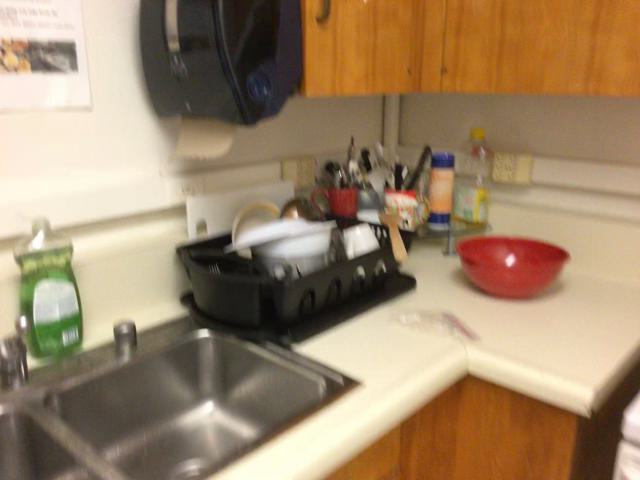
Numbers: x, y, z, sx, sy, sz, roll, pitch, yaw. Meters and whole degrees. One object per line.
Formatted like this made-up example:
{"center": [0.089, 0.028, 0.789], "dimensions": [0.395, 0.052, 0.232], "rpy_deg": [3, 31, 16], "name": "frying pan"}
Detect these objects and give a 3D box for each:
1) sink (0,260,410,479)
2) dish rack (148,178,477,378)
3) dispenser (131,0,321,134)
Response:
{"center": [-0.370, 0.330, 0.910], "dimensions": [0.580, 0.290, 0.930], "rpy_deg": [15, 20, 40], "name": "sink"}
{"center": [0.000, 0.030, 1.340], "dimensions": [0.460, 0.230, 0.600], "rpy_deg": [15, 20, 40], "name": "dish rack"}
{"center": [-0.200, -0.430, 1.190], "dimensions": [0.370, 0.380, 0.190], "rpy_deg": [15, 20, 40], "name": "dispenser"}
